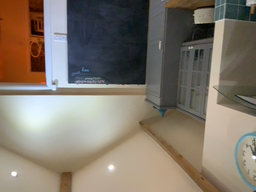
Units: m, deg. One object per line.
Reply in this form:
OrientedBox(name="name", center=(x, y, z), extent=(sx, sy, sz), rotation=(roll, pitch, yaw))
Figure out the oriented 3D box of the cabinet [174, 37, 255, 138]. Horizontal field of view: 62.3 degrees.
OrientedBox(name="cabinet", center=(0.970, -0.140, 2.410), extent=(0.430, 0.910, 0.980), rotation=(1, -170, -13))
